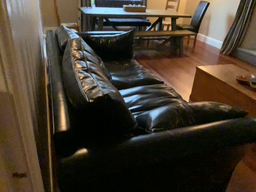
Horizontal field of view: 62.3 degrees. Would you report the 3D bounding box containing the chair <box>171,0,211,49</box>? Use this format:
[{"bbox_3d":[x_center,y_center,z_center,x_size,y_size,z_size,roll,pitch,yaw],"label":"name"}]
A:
[{"bbox_3d":[1.480,-1.720,5.120,0.620,1.010,0.470,1,29,-7],"label":"chair"}]

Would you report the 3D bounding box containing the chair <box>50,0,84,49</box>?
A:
[{"bbox_3d":[-1.290,-1.570,4.480,0.530,0.980,0.540,-11,32,-25],"label":"chair"}]
